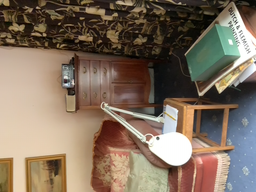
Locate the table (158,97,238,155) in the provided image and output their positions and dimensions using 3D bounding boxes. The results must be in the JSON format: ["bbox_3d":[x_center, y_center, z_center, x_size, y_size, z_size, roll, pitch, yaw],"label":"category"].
[{"bbox_3d":[0.480,0.190,1.520,0.330,0.390,0.300,-144,55,-68],"label":"table"}]
